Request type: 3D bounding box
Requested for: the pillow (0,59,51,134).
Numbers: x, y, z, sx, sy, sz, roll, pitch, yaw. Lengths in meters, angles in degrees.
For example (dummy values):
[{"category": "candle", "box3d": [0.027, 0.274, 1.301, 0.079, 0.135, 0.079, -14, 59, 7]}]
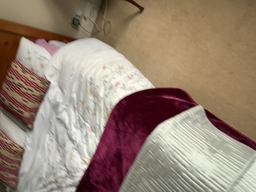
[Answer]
[{"category": "pillow", "box3d": [-0.780, 0.000, 1.570, 0.460, 0.290, 0.120, -69, -15, 16]}]
